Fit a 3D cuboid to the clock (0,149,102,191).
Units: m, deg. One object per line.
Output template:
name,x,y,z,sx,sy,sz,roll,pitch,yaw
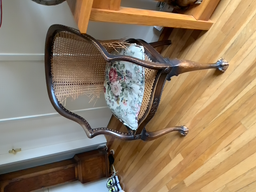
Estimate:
clock,-0.990,0.870,2.200,0.350,1.370,0.280,-43,59,54
